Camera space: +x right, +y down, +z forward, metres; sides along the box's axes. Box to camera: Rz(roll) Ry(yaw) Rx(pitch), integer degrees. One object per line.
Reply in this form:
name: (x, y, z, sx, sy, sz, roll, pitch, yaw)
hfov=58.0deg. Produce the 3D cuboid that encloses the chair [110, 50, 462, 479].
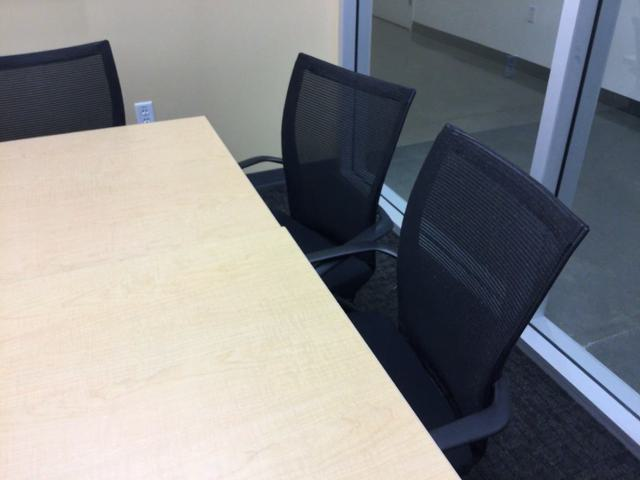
chair: (-0.100, 0.040, 1.610, 0.630, 0.890, 0.650, -17, 34, -21)
